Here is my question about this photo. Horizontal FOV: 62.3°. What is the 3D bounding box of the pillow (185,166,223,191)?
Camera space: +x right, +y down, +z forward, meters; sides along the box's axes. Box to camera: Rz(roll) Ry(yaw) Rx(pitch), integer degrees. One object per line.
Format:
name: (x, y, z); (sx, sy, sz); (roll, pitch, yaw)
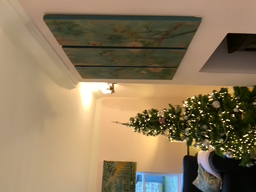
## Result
pillow: (1.080, 1.220, 3.030); (0.130, 0.370, 0.390); (-38, -79, -33)

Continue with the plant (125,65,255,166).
plant: (0.830, 0.290, 2.650); (1.650, 0.890, 1.010); (2, -105, 2)
